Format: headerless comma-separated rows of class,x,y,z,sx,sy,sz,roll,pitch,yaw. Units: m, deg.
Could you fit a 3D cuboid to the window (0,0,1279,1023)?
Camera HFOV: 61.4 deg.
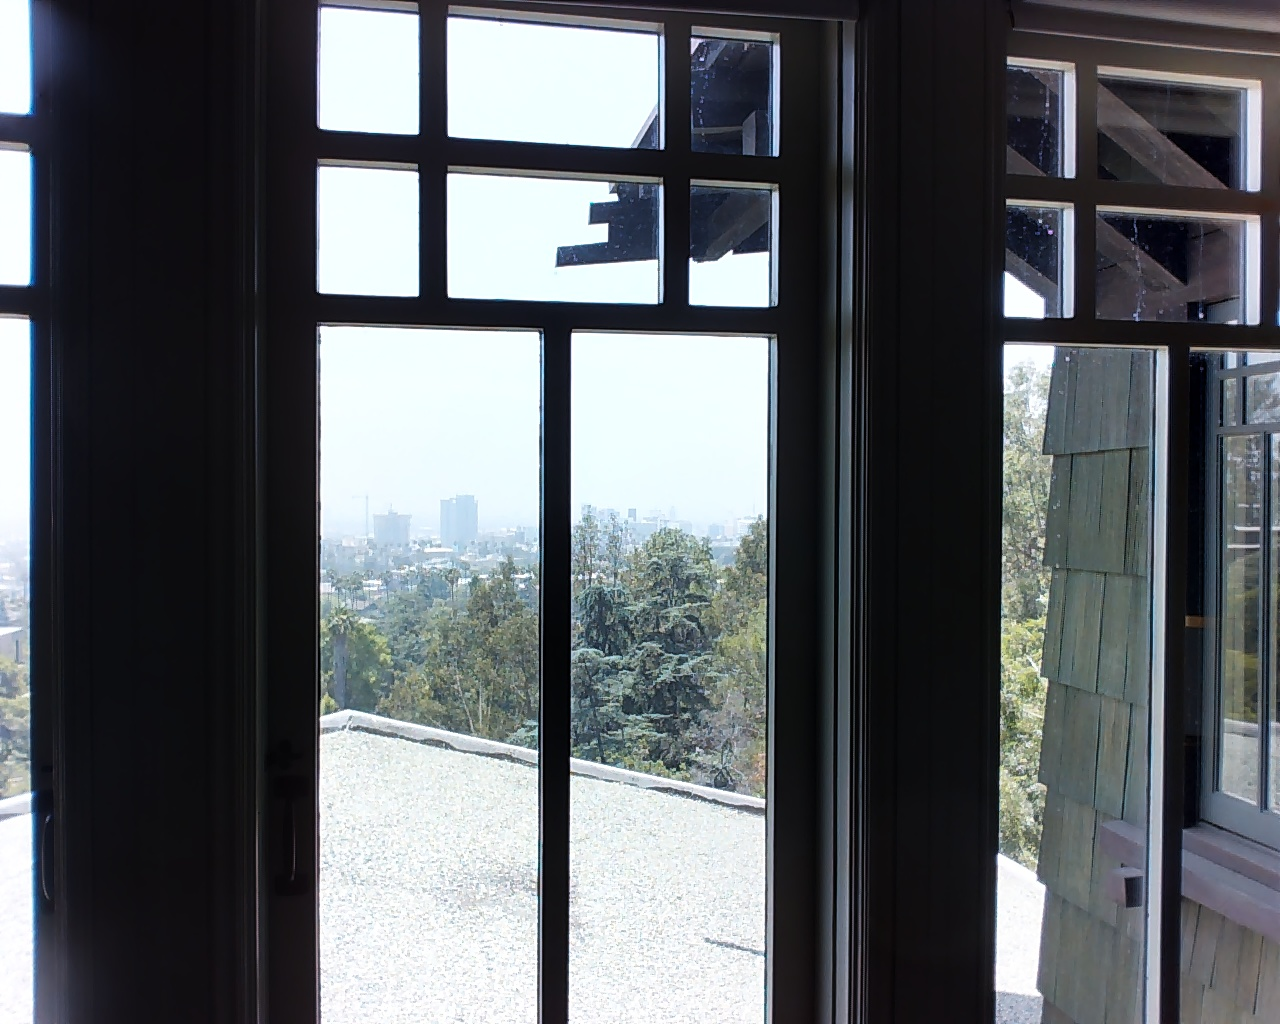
window,-0.100,0.190,1.120,2.450,1.590,0.170,0,1,-12
